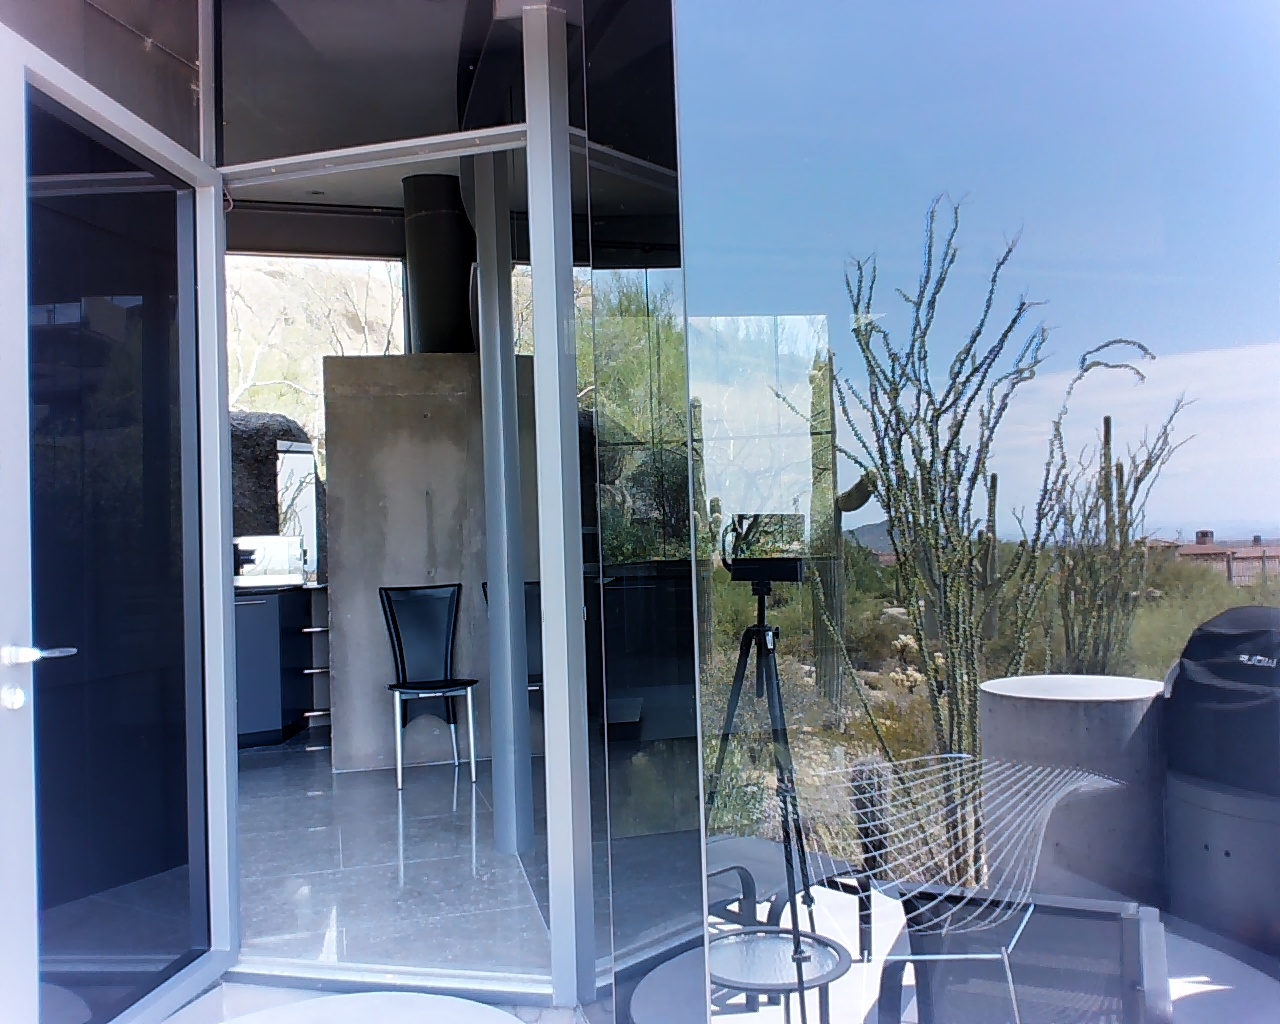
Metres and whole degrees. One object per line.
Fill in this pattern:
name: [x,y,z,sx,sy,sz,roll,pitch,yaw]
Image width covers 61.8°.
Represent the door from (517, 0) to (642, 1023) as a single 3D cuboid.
door: [-0.160,0.040,2.690,0.170,2.621,0.340,-1,-1,-15]
